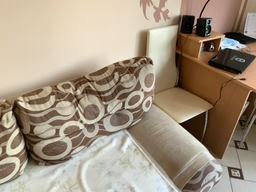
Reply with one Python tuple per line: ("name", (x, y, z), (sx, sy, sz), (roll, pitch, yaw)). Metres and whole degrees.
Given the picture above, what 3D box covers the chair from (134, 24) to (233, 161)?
("chair", (0.390, -0.030, 1.800), (0.380, 0.960, 0.540), (-19, 39, -29))
